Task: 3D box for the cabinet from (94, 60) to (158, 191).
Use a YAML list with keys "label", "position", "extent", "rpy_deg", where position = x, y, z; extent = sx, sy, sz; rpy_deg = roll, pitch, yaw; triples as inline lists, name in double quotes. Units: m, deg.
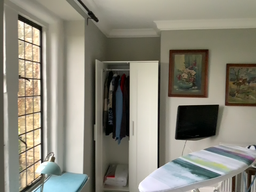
- label: "cabinet"
  position: [0.000, 0.450, 3.170]
  extent: [0.870, 1.900, 0.530]
  rpy_deg: [0, 3, 7]
